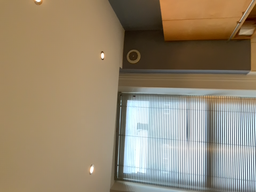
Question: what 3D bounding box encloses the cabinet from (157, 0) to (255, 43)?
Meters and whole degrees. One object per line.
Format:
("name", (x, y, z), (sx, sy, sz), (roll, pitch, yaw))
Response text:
("cabinet", (0.600, -0.610, 1.520), (0.840, 0.730, 0.130), (35, -122, -75))
